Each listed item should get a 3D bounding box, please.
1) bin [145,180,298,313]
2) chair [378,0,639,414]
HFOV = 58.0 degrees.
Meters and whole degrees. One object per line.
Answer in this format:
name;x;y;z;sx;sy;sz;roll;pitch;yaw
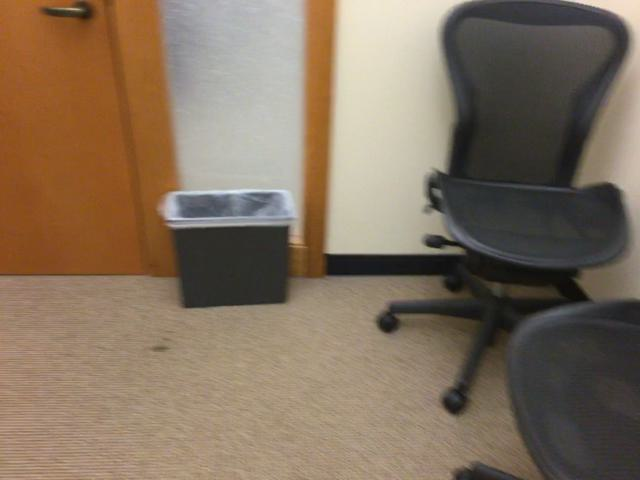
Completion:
bin;-0.330;0.020;2.050;0.480;0.370;0.280;1;29;-4
chair;0.630;-0.130;1.720;0.710;1.060;0.700;1;29;-4
